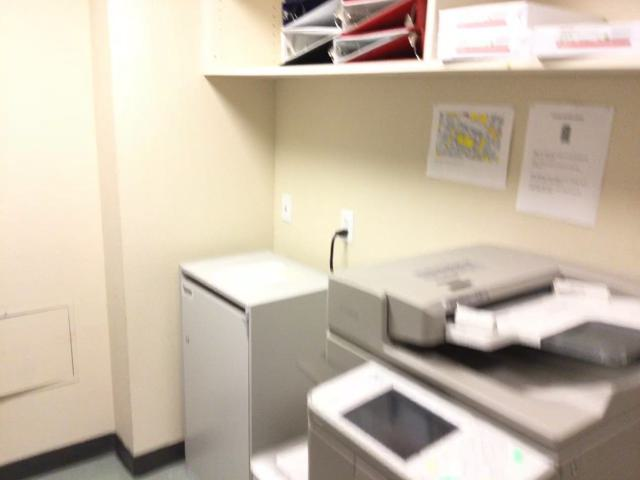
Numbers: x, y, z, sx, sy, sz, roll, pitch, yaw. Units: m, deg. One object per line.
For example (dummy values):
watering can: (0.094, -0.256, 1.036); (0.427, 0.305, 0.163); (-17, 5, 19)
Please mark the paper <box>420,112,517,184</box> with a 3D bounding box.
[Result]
paper: (0.400, -0.260, 1.600); (0.030, 0.180, 0.290); (-3, 12, -36)
